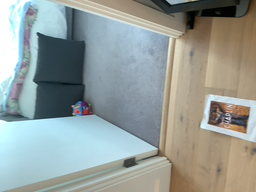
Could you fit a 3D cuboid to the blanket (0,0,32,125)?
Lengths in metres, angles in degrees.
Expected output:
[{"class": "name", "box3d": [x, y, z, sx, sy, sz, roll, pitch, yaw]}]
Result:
[{"class": "blanket", "box3d": [-1.310, -0.420, 2.380, 0.780, 0.140, 1.310, 12, 100, 46]}]

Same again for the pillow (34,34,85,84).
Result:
[{"class": "pillow", "box3d": [-0.700, -0.360, 2.180, 0.250, 0.420, 0.450, 9, 97, 47]}]
